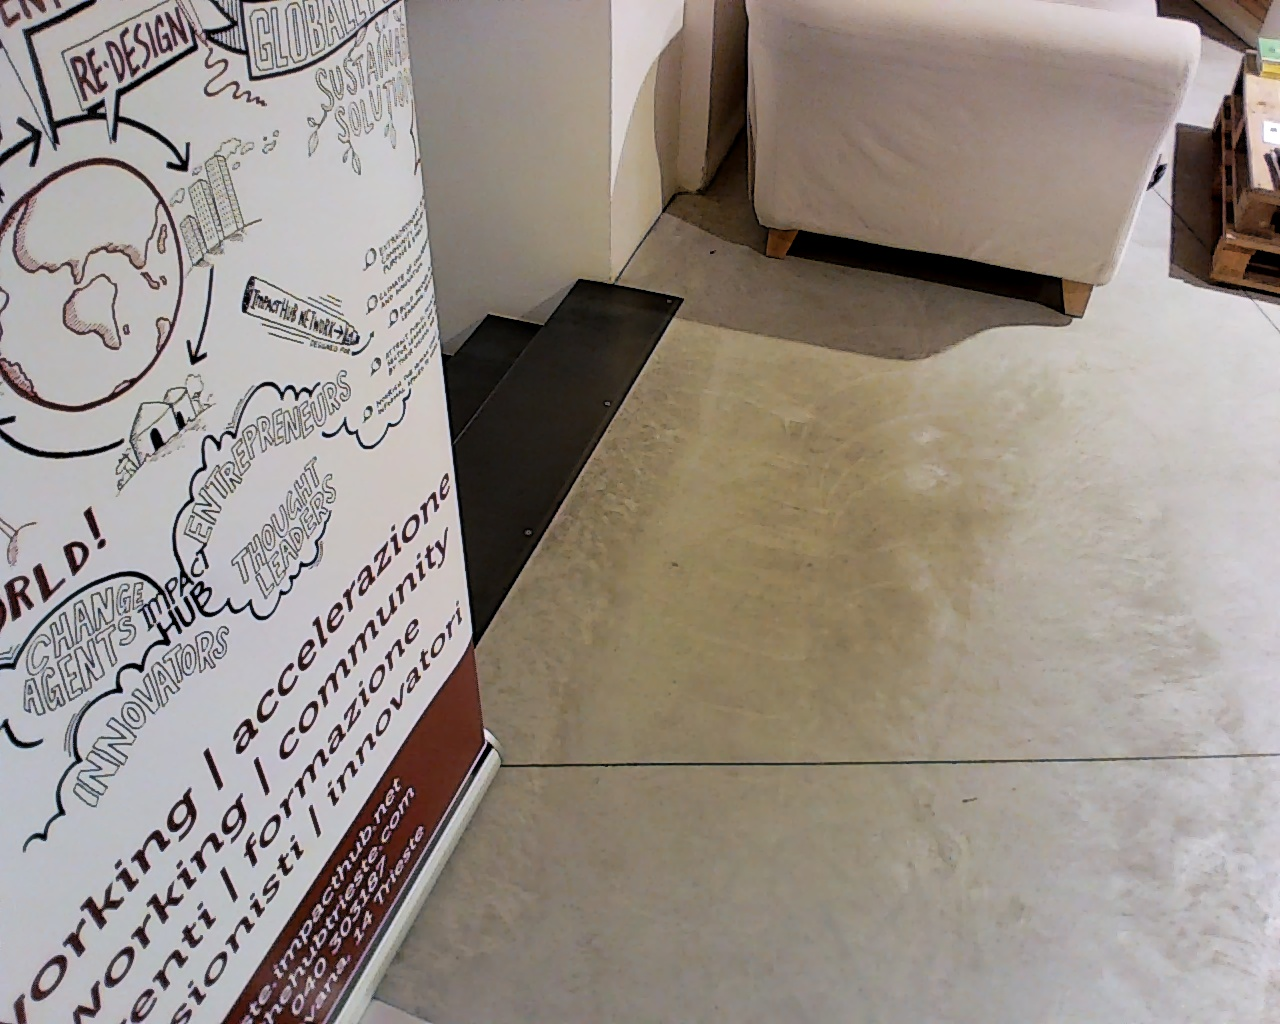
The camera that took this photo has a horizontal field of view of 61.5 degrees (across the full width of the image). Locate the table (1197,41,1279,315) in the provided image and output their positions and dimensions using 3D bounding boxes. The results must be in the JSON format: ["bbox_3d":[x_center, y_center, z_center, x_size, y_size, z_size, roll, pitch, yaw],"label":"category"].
[{"bbox_3d":[2.139,-0.970,3.160,0.810,0.310,1.210,15,44,14],"label":"table"}]
